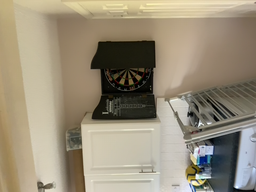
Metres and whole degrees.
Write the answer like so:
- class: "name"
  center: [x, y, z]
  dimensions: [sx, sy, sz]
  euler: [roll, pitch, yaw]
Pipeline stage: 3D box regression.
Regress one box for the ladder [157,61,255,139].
- class: "ladder"
  center: [0.960, -0.030, 1.800]
  dimensions: [0.820, 1.280, 0.460]
  euler: [-95, 5, -76]
